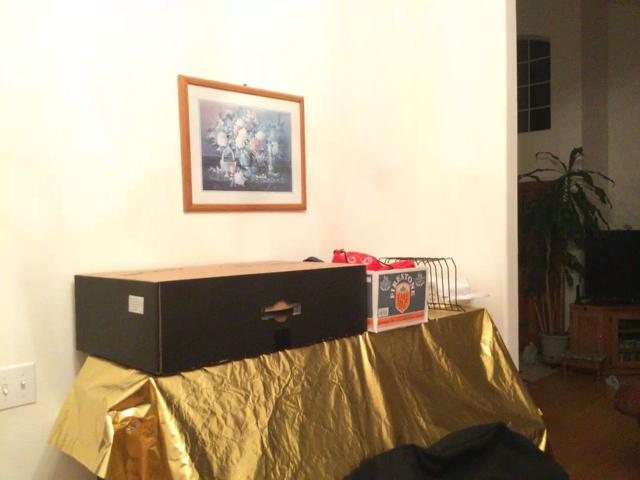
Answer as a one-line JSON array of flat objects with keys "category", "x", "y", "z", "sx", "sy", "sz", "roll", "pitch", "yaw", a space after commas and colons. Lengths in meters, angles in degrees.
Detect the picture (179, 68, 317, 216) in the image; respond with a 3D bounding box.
[{"category": "picture", "x": -0.240, "y": -0.330, "z": 2.090, "sx": 0.550, "sy": 0.480, "sz": 0.050, "roll": -3, "pitch": 1, "yaw": -44}]
